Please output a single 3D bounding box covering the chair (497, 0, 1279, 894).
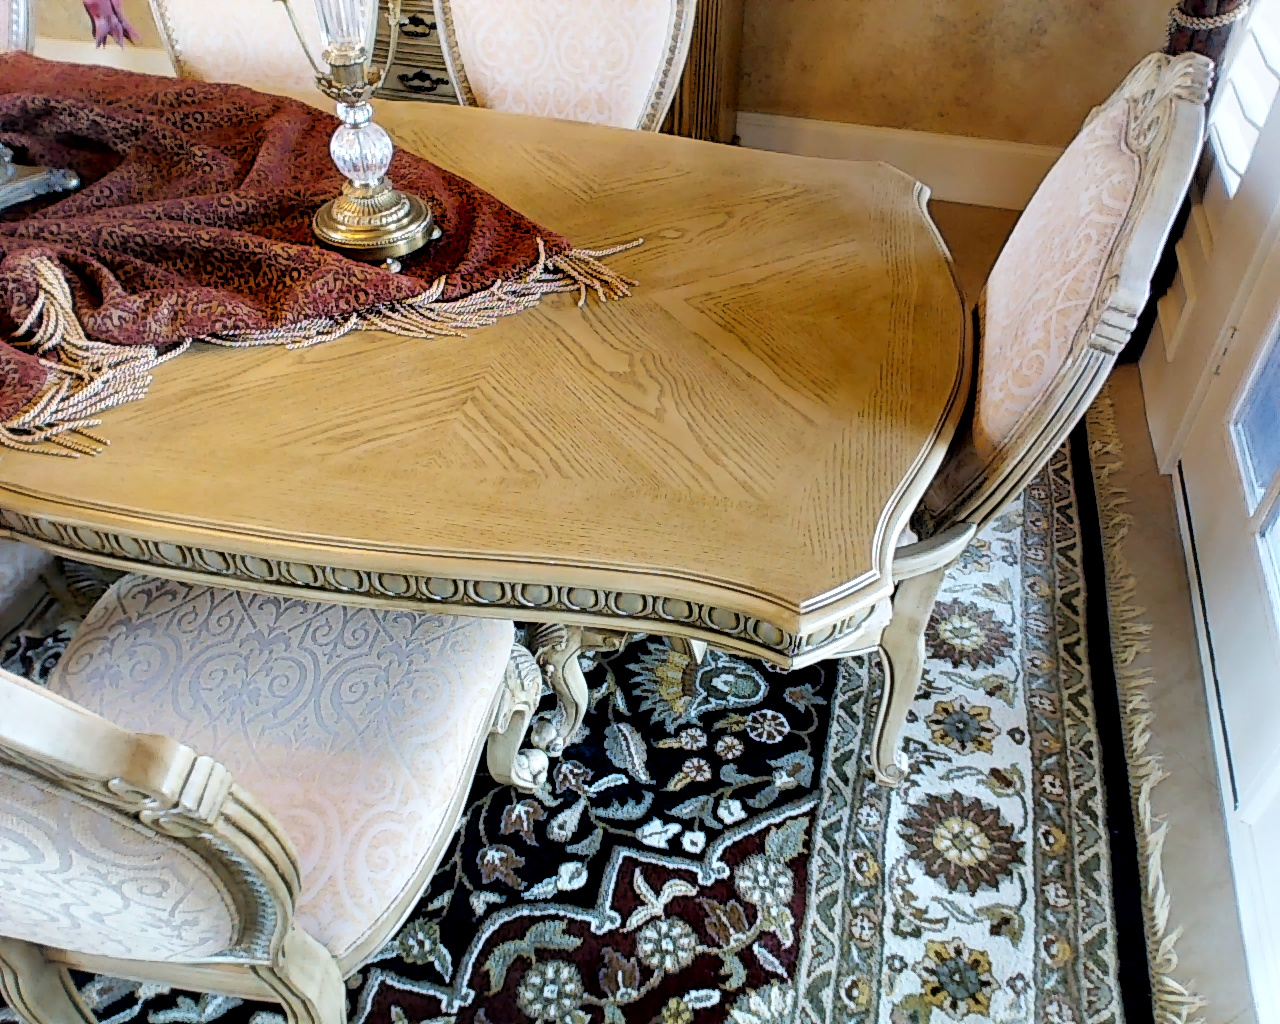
[{"bbox_3d":[0.300,-0.120,1.580,0.730,1.170,0.640,12,43,12],"label":"chair"}]

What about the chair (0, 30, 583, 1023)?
[{"bbox_3d":[-0.500,0.220,1.210,0.650,1.170,0.810,9,43,9],"label":"chair"}]
